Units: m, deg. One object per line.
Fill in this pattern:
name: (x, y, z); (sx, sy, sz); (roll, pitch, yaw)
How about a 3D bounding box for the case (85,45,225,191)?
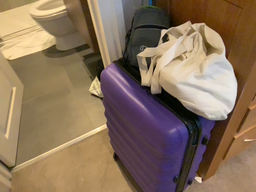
case: (0.090, 0.180, 0.960); (0.300, 0.600, 0.440); (-24, 49, -13)
